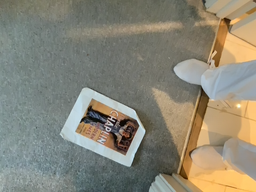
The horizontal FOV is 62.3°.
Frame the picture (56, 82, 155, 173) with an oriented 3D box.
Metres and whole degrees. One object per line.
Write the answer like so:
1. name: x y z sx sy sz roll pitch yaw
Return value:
1. picture: -0.080 0.120 0.810 0.300 0.040 0.220 31 84 -7
